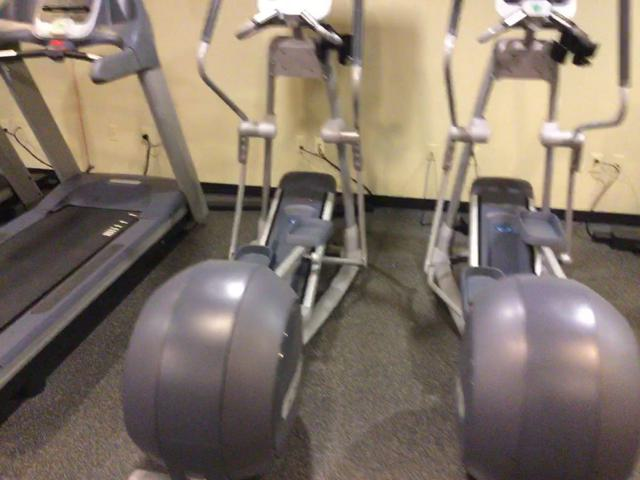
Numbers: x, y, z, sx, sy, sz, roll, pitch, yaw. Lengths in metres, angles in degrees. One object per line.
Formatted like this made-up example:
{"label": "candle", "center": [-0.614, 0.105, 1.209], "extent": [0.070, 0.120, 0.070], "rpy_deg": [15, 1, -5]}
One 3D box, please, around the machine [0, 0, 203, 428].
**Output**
{"label": "machine", "center": [-1.310, -0.610, 2.520], "extent": [0.980, 1.720, 2.050], "rpy_deg": [2, 28, 3]}

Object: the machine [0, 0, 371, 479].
{"label": "machine", "center": [-0.220, -0.520, 2.200], "extent": [0.730, 1.960, 2.180], "rpy_deg": [3, 27, 6]}
